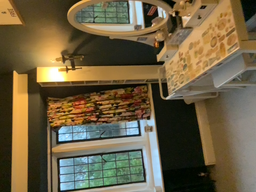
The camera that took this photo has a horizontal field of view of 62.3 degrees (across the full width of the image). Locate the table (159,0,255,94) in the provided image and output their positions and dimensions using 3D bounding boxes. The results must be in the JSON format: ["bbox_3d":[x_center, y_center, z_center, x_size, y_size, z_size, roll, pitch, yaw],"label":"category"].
[{"bbox_3d":[0.770,-0.380,1.640,1.020,0.730,0.500,128,138,-75],"label":"table"}]
